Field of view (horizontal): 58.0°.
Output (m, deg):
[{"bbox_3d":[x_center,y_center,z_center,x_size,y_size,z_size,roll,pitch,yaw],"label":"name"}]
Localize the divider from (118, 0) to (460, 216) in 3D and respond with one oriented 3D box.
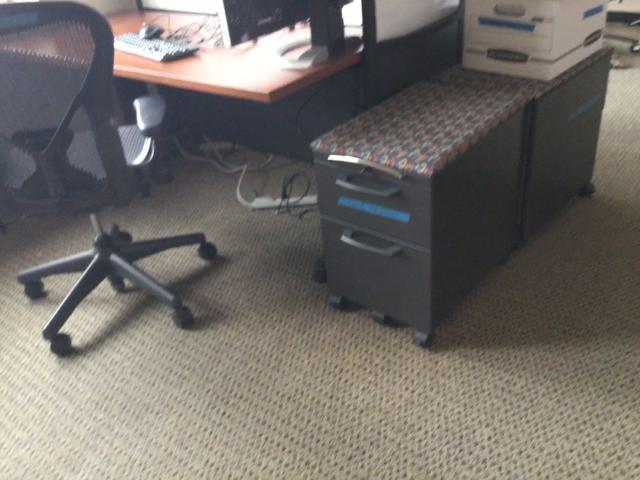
[{"bbox_3d":[-0.260,-0.980,2.190,1.530,1.600,0.230,17,43,37],"label":"divider"}]
